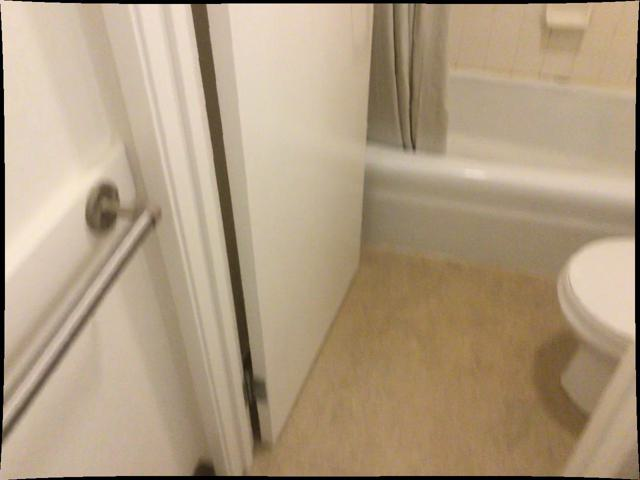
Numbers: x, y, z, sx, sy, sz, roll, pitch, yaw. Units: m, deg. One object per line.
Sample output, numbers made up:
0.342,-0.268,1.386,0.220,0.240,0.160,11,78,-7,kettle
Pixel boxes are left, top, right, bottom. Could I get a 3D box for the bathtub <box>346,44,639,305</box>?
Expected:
0.809,-0.260,2.080,1.288,0.480,0.740,9,43,10,bathtub
